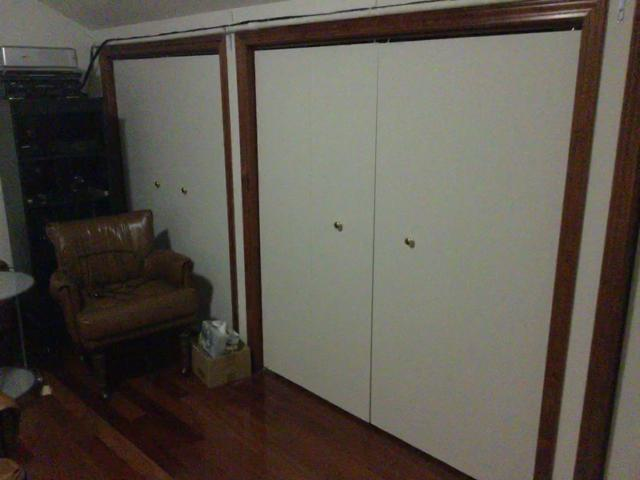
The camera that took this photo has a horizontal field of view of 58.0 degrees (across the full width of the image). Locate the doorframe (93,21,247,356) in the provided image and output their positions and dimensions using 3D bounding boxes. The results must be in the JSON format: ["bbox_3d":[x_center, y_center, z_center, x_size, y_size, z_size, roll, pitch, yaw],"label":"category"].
[{"bbox_3d":[-0.860,-0.310,3.240,1.190,1.630,0.150,13,18,41],"label":"doorframe"}]

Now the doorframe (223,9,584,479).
[{"bbox_3d":[0.150,0.000,2.310,1.510,1.590,0.130,13,18,41],"label":"doorframe"}]
